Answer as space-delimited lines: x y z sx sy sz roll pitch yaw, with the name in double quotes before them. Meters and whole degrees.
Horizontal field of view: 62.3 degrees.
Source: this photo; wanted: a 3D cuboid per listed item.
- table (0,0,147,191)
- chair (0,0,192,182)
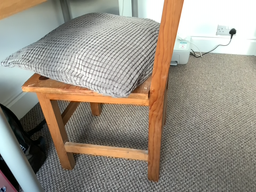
"table" -0.340 -0.190 0.970 0.620 0.730 1.200 7 38 14
"chair" -0.050 -0.150 0.780 0.480 0.850 0.420 5 37 11
